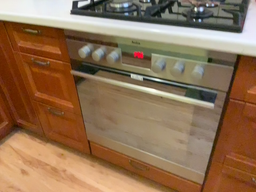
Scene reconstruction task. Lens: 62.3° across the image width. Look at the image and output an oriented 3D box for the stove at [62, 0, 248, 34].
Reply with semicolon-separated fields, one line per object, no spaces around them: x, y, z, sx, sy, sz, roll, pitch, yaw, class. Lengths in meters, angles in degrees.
0.150;-0.390;0.850;0.590;0.030;0.550;15;39;23;stove
